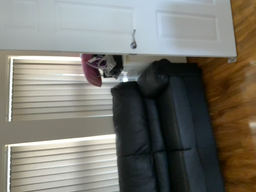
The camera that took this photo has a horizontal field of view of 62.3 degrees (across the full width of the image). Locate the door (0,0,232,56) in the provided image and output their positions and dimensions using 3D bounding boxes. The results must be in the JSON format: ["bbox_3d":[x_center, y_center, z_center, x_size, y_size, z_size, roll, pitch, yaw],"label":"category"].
[{"bbox_3d":[0.010,-0.790,1.700,0.020,1.940,0.880,160,108,-71],"label":"door"}]

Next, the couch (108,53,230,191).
[{"bbox_3d":[0.380,0.600,2.440,0.880,0.890,1.930,135,131,-65],"label":"couch"}]
